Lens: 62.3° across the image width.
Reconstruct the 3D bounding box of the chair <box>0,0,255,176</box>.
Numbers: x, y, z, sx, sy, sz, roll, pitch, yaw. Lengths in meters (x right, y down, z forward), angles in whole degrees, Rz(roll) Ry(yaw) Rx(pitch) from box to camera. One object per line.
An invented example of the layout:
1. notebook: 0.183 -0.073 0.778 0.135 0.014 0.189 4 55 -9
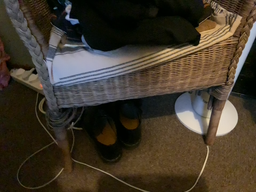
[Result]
1. chair: -0.010 -0.240 0.710 0.570 0.780 0.570 -8 44 -10
